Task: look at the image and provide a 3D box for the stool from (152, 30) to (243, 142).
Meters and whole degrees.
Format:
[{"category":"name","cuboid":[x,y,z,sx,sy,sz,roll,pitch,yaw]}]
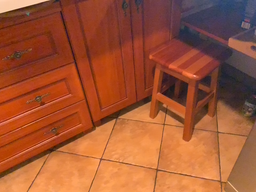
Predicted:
[{"category":"stool","cuboid":[0.360,-0.060,1.200,0.340,0.460,0.290,-35,49,-29]}]
